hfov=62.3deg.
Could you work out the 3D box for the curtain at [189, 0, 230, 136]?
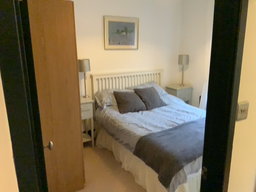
[{"bbox_3d":[1.380,-0.550,3.700,0.150,2.450,0.550,-8,16,-28],"label":"curtain"}]
